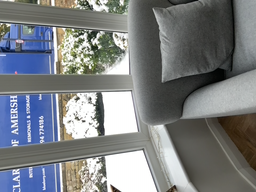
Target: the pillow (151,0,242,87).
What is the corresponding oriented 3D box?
[{"bbox_3d":[0.370,-0.350,1.210,0.090,0.440,0.540,10,-104,-65],"label":"pillow"}]
